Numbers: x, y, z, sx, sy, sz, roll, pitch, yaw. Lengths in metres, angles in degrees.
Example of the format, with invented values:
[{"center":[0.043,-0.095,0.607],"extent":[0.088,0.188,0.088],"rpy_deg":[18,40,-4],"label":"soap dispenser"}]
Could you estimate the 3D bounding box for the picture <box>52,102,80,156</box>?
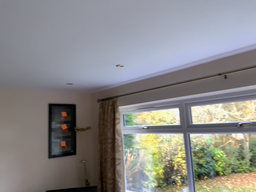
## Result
[{"center":[-1.010,0.520,3.460],"extent":[0.450,0.840,0.060],"rpy_deg":[3,-9,-43],"label":"picture"}]
